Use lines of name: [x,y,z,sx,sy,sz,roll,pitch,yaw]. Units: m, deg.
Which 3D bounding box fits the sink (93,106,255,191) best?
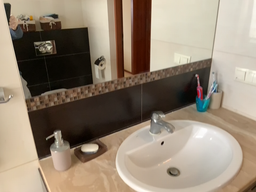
sink: [0.230,0.290,0.990,0.620,0.170,0.480,-16,28,-30]
